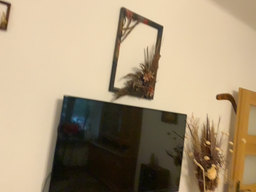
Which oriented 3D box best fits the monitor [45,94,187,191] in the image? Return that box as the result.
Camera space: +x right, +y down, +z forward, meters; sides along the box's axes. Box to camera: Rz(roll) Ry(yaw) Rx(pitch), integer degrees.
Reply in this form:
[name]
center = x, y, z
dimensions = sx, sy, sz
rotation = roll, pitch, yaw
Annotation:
[monitor]
center = 0.010, 0.350, 1.360
dimensions = 0.980, 0.580, 0.040
rotation = 10, -5, -35
